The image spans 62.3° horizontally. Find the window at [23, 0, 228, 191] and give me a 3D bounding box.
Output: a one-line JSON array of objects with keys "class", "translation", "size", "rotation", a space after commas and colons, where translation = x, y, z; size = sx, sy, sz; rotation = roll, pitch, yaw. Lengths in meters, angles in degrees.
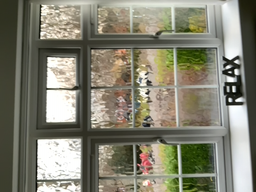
[{"class": "window", "translation": [-0.010, 0.090, 1.460], "size": [0.050, 1.340, 1.530], "rotation": [118, 152, -84]}]
